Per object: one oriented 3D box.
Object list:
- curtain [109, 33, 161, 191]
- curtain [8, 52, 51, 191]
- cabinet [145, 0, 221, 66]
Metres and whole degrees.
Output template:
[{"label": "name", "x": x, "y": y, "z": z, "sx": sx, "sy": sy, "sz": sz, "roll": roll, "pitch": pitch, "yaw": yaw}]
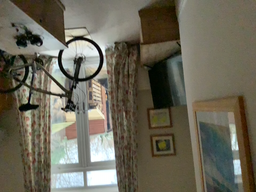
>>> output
[{"label": "curtain", "x": 0.120, "y": 0.410, "z": 3.420, "sx": 0.590, "sy": 2.740, "sz": 0.290, "roll": -5, "pitch": 176, "yaw": 5}, {"label": "curtain", "x": -1.620, "y": 0.610, "z": 3.510, "sx": 0.460, "sy": 2.610, "sz": 0.250, "roll": -6, "pitch": 176, "yaw": 7}, {"label": "cabinet", "x": 0.630, "y": -0.790, "z": 2.870, "sx": 0.750, "sy": 0.450, "sz": 1.220, "roll": -5, "pitch": 176, "yaw": 4}]
